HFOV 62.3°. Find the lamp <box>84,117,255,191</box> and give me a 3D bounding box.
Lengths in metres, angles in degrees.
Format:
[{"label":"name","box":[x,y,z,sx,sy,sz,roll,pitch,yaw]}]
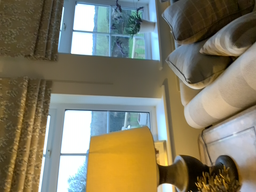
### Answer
[{"label":"lamp","box":[0.160,0.430,1.140,0.540,0.760,0.460,112,159,-64]}]
